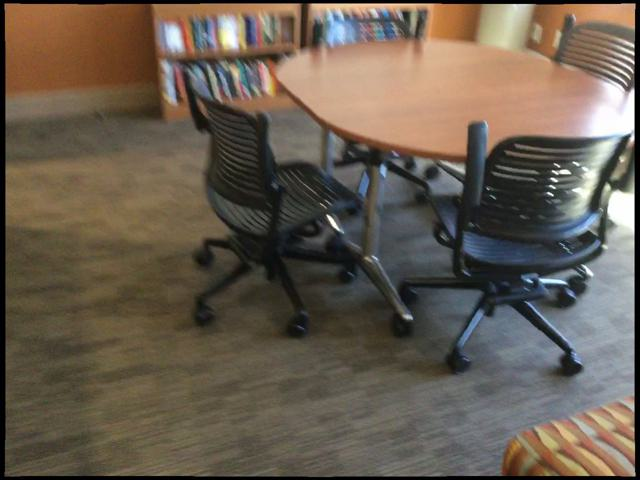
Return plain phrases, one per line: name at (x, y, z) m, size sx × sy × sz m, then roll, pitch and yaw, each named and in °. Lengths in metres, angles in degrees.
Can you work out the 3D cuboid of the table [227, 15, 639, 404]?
table at (0.469, -0.321, 2.350) m, size 1.318 × 0.771 × 1.490 m, roll -11°, pitch 35°, yaw -19°
